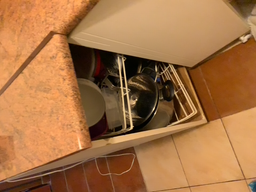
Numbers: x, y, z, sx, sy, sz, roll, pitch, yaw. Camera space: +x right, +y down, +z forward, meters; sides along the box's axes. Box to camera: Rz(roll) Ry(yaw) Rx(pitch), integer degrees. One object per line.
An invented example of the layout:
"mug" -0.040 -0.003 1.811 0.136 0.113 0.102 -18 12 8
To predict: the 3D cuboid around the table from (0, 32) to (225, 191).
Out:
"table" -0.030 0.100 0.910 0.520 0.850 0.310 -29 72 37
